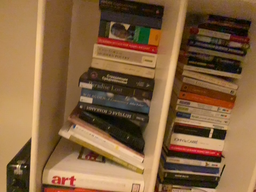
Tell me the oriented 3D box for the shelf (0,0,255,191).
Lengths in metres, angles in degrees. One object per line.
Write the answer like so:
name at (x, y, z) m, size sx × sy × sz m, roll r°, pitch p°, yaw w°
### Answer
shelf at (0.260, 0.090, 0.740) m, size 0.330 × 2.420 × 0.760 m, roll -107°, pitch 24°, yaw -76°
